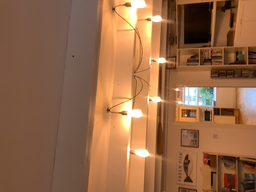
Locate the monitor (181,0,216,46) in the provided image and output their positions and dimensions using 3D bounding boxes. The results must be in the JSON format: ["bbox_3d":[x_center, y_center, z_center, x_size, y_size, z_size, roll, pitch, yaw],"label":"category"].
[{"bbox_3d":[1.490,-1.550,4.560,0.060,0.570,0.890,-54,-29,-53],"label":"monitor"}]
